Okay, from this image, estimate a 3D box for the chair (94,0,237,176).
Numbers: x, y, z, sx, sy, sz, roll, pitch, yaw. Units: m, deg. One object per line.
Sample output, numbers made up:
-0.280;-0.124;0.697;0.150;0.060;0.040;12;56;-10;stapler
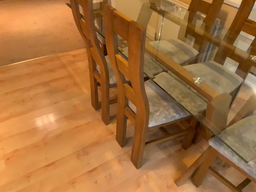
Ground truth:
0.160;-0.040;1.380;0.590;1.030;0.390;-22;48;-26;chair
